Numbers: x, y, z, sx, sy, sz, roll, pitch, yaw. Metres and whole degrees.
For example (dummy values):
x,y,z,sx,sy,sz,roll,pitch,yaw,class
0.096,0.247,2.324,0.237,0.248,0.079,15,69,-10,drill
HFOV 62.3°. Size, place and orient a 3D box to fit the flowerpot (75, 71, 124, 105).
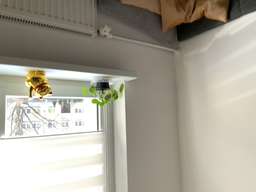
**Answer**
x,y,z,sx,sy,sz,roll,pitch,yaw,class
-0.190,-0.040,1.390,0.250,0.180,0.210,2,173,-34,flowerpot
